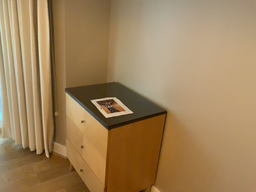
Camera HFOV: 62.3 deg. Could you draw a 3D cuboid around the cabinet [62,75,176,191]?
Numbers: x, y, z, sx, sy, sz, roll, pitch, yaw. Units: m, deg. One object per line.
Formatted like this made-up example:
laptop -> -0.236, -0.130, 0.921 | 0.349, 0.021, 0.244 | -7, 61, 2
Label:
cabinet -> -0.160, 0.370, 1.860 | 0.520, 0.850, 0.880 | -10, 27, -35
